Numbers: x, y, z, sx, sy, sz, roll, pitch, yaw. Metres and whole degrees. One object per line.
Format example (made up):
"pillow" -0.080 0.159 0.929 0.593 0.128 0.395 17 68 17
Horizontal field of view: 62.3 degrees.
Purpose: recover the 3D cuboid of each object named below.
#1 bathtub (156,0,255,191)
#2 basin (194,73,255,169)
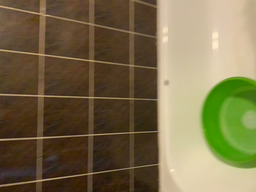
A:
"bathtub" 0.590 -0.150 1.170 0.680 0.560 1.840 -6 83 61
"basin" 0.640 0.140 1.290 0.410 0.210 0.480 -7 82 61
